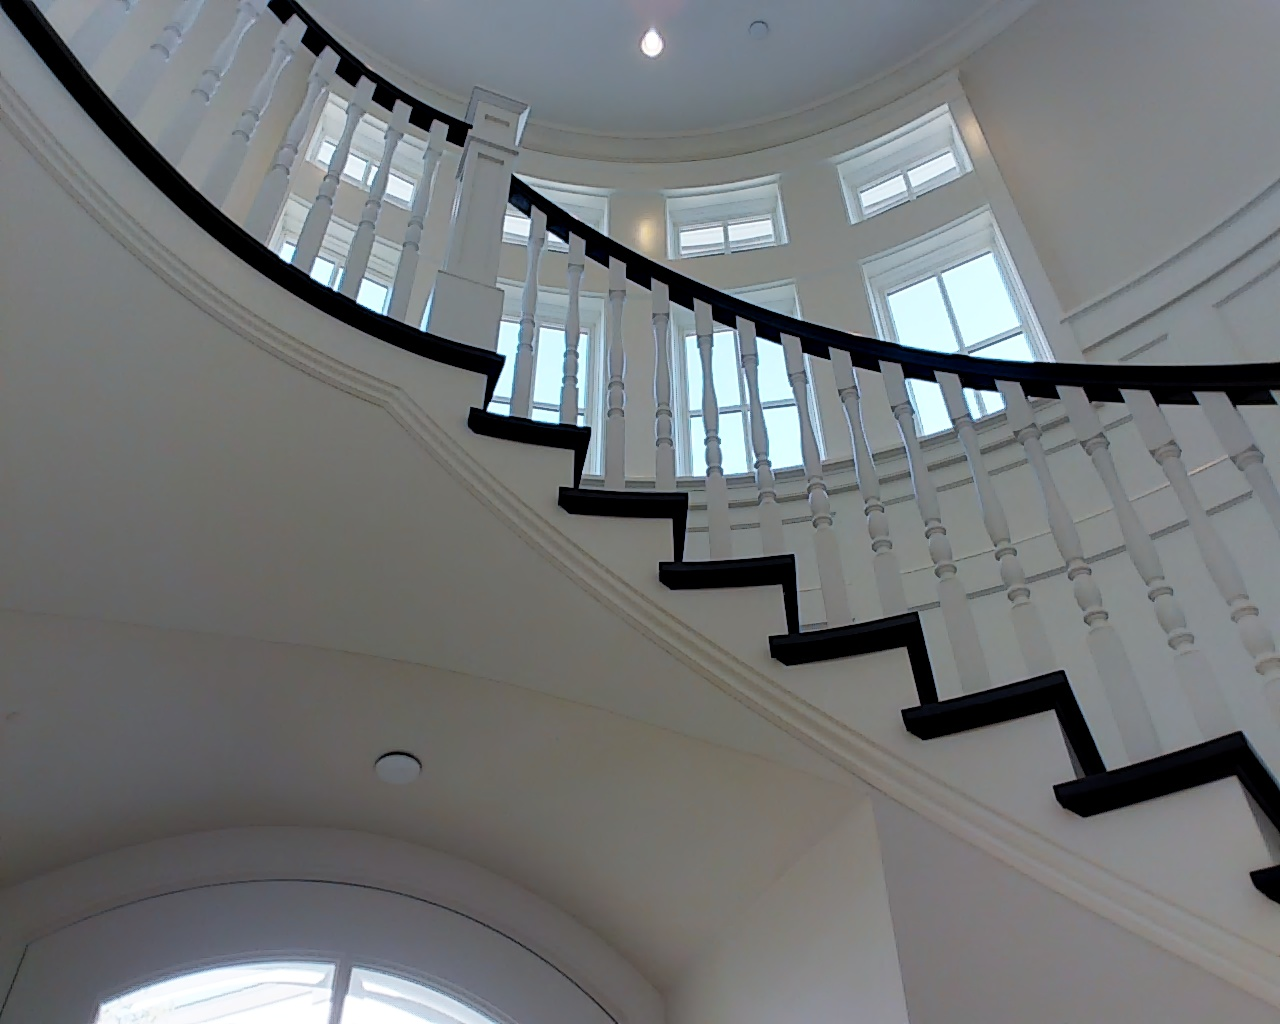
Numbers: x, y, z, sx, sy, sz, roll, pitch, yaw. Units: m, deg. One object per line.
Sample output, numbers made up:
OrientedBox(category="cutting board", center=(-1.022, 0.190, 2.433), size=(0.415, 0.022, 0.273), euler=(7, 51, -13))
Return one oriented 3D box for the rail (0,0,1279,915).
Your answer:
OrientedBox(category="rail", center=(-0.500, -0.971, 1.970), size=(2.199, 1.330, 2.861), euler=(7, 49, -30))
